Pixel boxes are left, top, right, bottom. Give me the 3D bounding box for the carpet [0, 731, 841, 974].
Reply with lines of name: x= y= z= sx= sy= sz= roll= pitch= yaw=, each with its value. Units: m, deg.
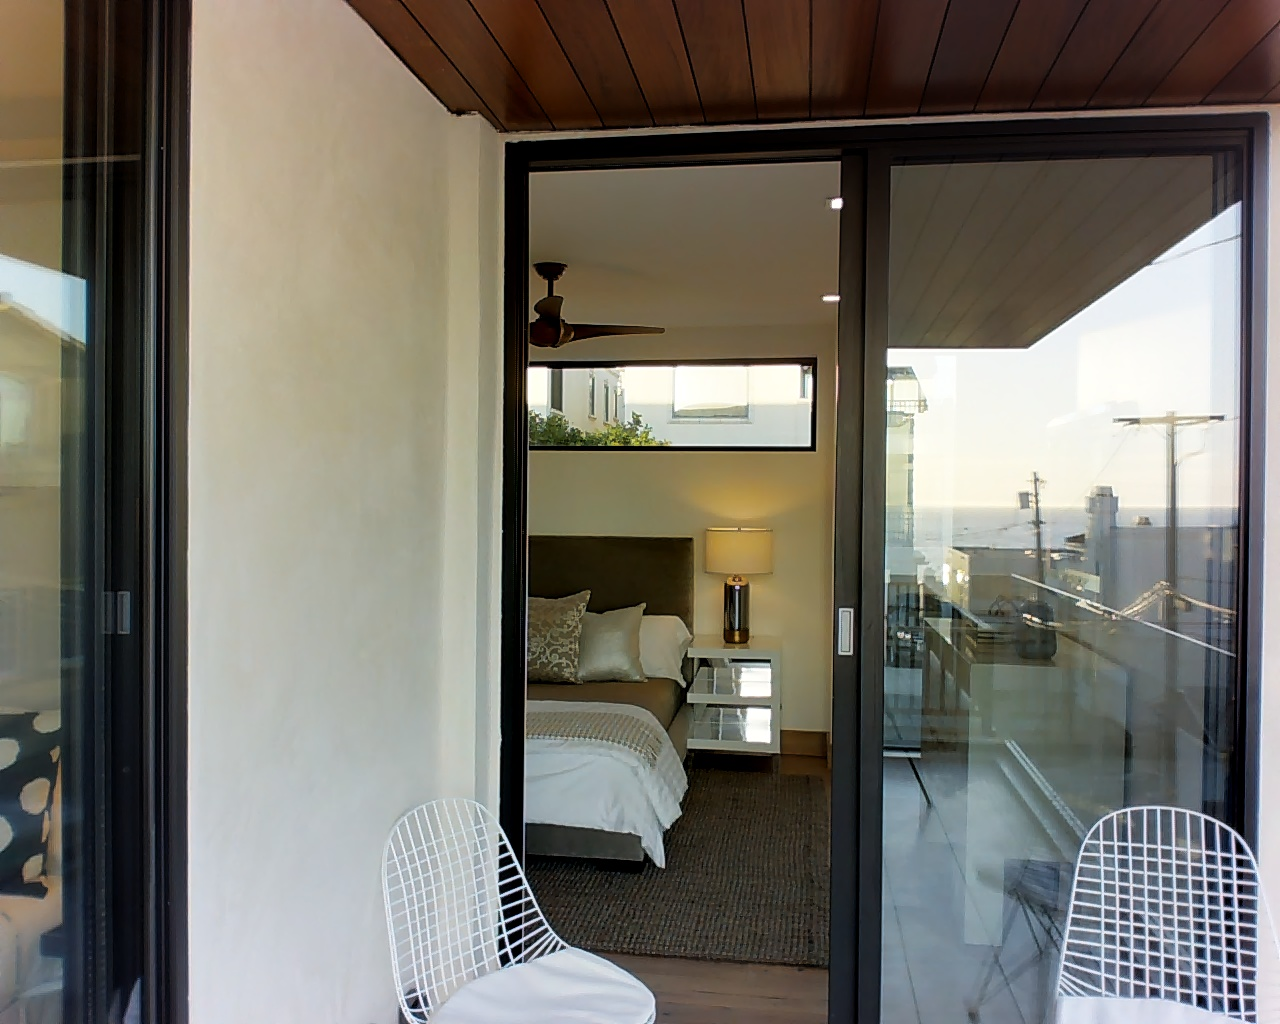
carpet: x=-0.650 y=1.440 z=5.140 sx=3.090 sy=0.080 sz=2.820 roll=0 pitch=1 yaw=9
